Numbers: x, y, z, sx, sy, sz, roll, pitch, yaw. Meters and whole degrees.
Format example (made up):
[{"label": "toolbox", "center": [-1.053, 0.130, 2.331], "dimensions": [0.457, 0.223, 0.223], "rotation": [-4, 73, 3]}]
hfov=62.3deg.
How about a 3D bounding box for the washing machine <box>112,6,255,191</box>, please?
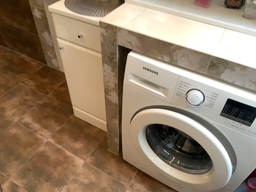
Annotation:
[{"label": "washing machine", "center": [0.340, 0.110, 1.150], "dimensions": [0.620, 0.850, 0.590], "rotation": [23, 49, 19]}]
